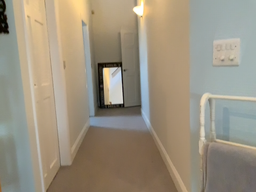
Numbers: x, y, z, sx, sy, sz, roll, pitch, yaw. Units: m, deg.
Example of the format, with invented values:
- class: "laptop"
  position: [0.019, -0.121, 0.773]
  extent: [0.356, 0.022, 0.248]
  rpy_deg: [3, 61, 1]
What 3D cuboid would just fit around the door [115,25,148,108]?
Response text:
- class: "door"
  position: [0.110, -0.770, 5.570]
  extent: [0.770, 2.110, 0.100]
  rpy_deg: [-6, 9, -18]
